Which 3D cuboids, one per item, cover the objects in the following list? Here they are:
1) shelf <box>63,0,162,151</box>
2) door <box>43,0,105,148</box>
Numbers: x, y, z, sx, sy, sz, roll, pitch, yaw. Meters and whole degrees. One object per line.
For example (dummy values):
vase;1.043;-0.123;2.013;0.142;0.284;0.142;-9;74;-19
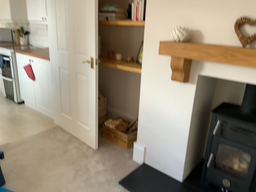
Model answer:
shelf;-0.250;-0.420;2.550;1.090;1.790;0.430;18;23;37
door;-0.630;-0.500;2.420;0.820;2.070;0.180;17;23;35
